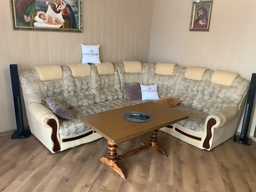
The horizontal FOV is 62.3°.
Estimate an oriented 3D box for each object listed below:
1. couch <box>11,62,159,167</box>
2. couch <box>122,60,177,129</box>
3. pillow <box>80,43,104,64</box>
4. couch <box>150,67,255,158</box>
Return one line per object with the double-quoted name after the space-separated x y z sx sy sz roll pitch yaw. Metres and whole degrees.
-0.630 0.070 3.370 1.850 0.990 1.230 -11 21 -39 "couch"
0.410 -0.130 4.260 0.830 0.980 1.430 5 16 4 "couch"
-0.640 -0.760 3.780 0.350 0.330 0.200 -11 21 -40 "pillow"
1.190 0.140 3.470 1.040 0.990 1.190 -11 21 -39 "couch"
